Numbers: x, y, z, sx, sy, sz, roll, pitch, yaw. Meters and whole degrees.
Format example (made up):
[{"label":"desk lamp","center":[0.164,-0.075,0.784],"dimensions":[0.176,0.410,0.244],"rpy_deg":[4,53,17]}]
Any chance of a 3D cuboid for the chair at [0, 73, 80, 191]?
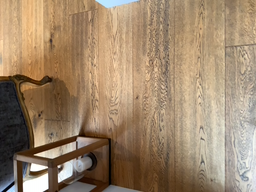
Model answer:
[{"label":"chair","center":[-0.830,0.270,1.090],"dimensions":[0.610,0.830,0.590],"rpy_deg":[-24,81,25]}]
